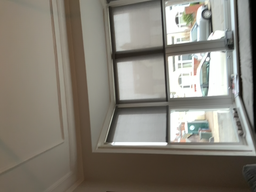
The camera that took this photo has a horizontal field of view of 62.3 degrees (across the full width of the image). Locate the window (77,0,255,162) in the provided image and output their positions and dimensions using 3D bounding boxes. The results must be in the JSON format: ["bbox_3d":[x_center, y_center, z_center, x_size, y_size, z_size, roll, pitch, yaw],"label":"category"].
[{"bbox_3d":[0.570,-0.720,3.200,1.150,2.230,2.990,-18,-75,-75],"label":"window"}]
